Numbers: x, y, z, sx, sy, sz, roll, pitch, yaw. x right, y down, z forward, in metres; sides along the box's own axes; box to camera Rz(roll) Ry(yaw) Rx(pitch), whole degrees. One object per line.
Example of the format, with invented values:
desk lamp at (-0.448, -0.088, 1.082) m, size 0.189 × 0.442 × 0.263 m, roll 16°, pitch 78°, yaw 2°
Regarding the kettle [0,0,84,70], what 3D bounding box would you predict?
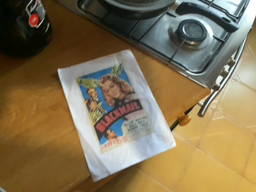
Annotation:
kettle at (-0.260, -0.250, 0.500) m, size 0.180 × 0.240 × 0.230 m, roll 34°, pitch 66°, yaw 10°
